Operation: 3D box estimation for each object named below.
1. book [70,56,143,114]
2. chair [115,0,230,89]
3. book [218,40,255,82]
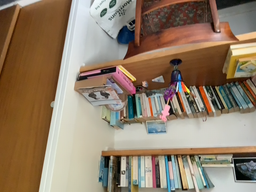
[{"bbox_3d":[-0.110,-0.040,1.430,0.300,0.160,0.510,-7,156,18],"label":"book"},{"bbox_3d":[0.250,-0.550,1.220,0.460,0.850,0.470,-7,156,19],"label":"chair"},{"bbox_3d":[0.620,-0.180,1.140,0.210,0.080,0.270,-4,157,13],"label":"book"}]
